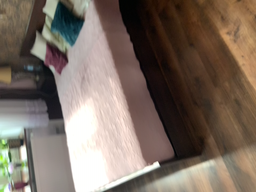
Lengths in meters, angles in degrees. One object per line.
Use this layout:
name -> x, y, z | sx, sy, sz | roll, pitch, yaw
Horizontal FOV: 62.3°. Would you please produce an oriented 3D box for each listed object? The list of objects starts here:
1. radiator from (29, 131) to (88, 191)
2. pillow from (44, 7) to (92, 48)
radiator -> -1.070, 1.130, 3.260 | 0.230, 0.680, 1.110 | -43, 57, 45
pillow -> -0.660, -0.740, 2.360 | 0.360, 0.360, 0.160 | -19, 71, 21
